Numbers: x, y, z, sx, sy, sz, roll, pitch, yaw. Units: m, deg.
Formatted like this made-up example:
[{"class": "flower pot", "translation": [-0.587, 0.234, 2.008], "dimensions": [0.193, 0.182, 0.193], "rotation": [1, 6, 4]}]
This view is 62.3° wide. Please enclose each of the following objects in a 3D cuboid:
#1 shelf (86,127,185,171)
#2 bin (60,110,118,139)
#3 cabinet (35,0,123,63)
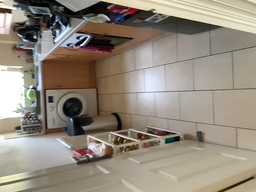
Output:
[{"class": "shelf", "translation": [0.050, 0.450, 1.980], "dimensions": [0.610, 0.700, 0.170], "rotation": [-1, 91, 59]}, {"class": "bin", "translation": [-0.550, 0.380, 2.980], "dimensions": [0.470, 0.680, 0.280], "rotation": [0, 92, 59]}, {"class": "cabinet", "translation": [-0.730, -0.830, 2.970], "dimensions": [1.000, 0.910, 0.580], "rotation": [0, 92, 59]}]
